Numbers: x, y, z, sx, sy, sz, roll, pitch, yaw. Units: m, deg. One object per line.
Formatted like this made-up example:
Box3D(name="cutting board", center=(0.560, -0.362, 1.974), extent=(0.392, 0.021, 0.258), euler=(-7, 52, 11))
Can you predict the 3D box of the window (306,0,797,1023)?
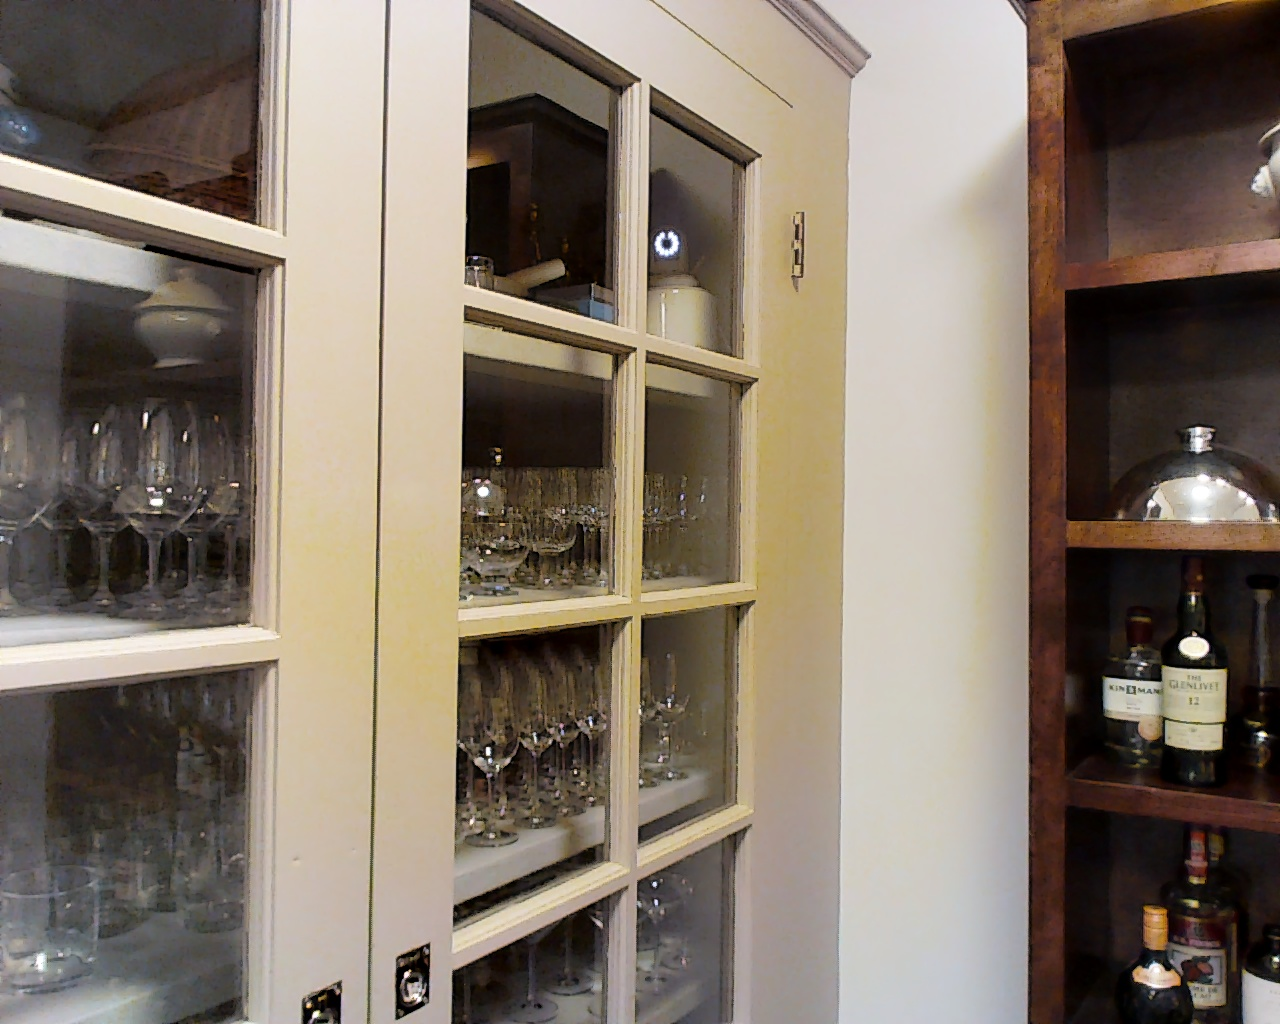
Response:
Box3D(name="window", center=(-0.070, 0.310, 1.480), extent=(0.260, 1.790, 0.740), euler=(0, 0, 34))
